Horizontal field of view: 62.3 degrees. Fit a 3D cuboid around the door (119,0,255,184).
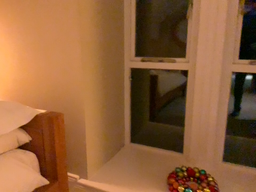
[{"bbox_3d":[0.620,-0.750,1.470,1.450,2.840,0.090,5,15,20],"label":"door"}]
